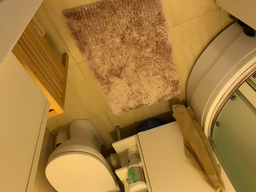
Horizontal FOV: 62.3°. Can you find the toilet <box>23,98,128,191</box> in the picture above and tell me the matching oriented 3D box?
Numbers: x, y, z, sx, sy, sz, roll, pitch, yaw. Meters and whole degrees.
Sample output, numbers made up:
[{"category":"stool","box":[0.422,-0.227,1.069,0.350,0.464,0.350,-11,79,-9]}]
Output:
[{"category":"toilet","box":[-0.280,0.550,1.390,0.380,0.790,0.640,-20,129,4]}]
